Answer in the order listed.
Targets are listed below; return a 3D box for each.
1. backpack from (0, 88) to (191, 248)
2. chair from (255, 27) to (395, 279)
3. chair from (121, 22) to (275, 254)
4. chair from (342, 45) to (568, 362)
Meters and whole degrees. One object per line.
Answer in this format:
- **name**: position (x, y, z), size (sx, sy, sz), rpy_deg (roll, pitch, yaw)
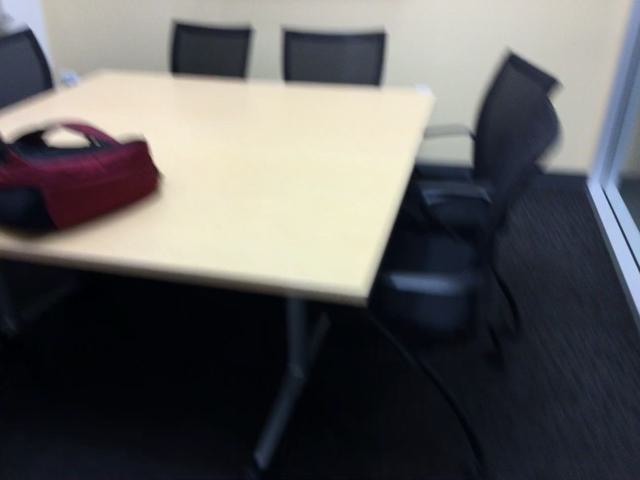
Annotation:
- **backpack**: position (-0.660, -0.210, 1.450), size (0.490, 0.220, 0.480), rpy_deg (6, 27, 10)
- **chair**: position (0.040, -0.390, 2.470), size (0.450, 0.910, 0.560), rpy_deg (6, 27, 10)
- **chair**: position (-0.500, -0.480, 2.630), size (0.440, 0.900, 0.550), rpy_deg (6, 27, 10)
- **chair**: position (0.420, -0.150, 2.020), size (0.580, 0.920, 0.550), rpy_deg (6, 27, 10)
